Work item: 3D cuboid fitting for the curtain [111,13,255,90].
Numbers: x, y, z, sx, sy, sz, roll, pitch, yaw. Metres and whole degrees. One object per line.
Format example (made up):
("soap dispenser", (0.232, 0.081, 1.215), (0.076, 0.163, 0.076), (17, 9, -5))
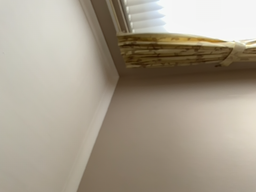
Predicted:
("curtain", (1.010, -0.420, 2.070), (0.210, 2.290, 0.650), (-72, -28, -43))
